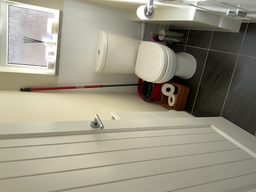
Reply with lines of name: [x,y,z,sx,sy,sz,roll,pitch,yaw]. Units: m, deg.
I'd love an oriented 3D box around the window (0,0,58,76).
window: [-1.160,-0.540,1.850,0.140,0.990,0.630,35,119,59]
